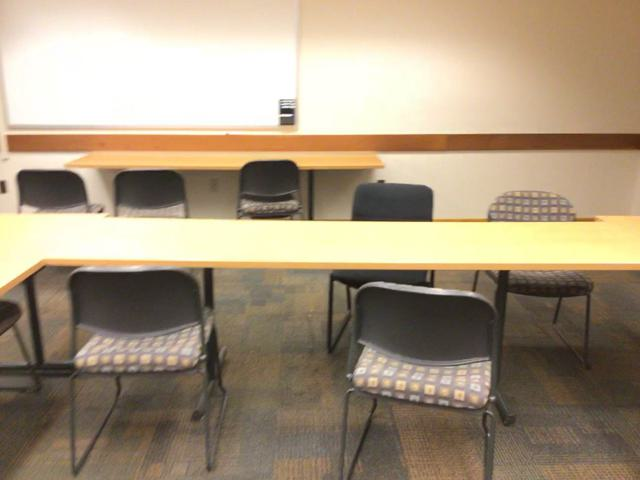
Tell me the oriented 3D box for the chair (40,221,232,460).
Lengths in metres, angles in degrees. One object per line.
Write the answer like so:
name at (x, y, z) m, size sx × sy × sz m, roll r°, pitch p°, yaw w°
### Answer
chair at (-0.650, 0.340, 2.230) m, size 0.520 × 0.680 × 0.660 m, roll 3°, pitch 14°, yaw -2°

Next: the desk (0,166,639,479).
desk at (0.070, 0.710, 0.860) m, size 4.000 × 1.000 × 3.970 m, roll 3°, pitch 14°, yaw -2°

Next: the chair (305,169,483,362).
chair at (0.330, 0.100, 2.930) m, size 0.570 × 0.790 × 0.650 m, roll 2°, pitch 15°, yaw -19°

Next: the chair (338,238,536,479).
chair at (0.380, 0.400, 2.020) m, size 0.520 × 0.650 × 0.590 m, roll 6°, pitch 14°, yaw 8°
